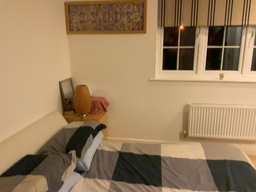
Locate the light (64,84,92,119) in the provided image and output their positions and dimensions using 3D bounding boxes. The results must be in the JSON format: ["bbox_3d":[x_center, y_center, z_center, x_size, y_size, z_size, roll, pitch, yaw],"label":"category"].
[{"bbox_3d":[-0.610,0.060,2.620,0.250,0.390,0.190,2,14,10],"label":"light"}]

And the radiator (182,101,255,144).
[{"bbox_3d":[1.200,0.340,2.720,0.960,0.500,0.110,2,14,9],"label":"radiator"}]
